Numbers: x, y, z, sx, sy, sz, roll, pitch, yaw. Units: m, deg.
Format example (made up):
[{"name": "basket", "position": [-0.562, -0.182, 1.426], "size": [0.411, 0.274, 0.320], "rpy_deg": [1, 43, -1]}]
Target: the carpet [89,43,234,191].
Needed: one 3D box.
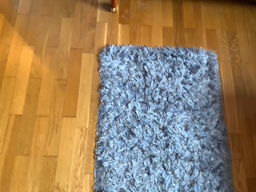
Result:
[{"name": "carpet", "position": [0.160, 0.270, 1.140], "size": [0.710, 0.070, 1.200], "rpy_deg": [-2, 73, -5]}]
